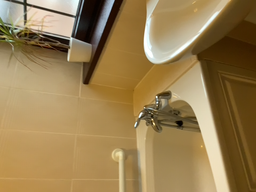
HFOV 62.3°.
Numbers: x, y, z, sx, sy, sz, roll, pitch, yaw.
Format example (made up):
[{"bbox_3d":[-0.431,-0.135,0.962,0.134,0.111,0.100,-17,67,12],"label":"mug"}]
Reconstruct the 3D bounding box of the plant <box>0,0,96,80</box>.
[{"bbox_3d":[-0.500,-0.310,1.280,0.320,0.540,0.200,131,142,-54],"label":"plant"}]

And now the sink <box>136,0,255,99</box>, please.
[{"bbox_3d":[0.230,-0.310,0.590,0.550,0.180,0.430,133,141,-55],"label":"sink"}]
